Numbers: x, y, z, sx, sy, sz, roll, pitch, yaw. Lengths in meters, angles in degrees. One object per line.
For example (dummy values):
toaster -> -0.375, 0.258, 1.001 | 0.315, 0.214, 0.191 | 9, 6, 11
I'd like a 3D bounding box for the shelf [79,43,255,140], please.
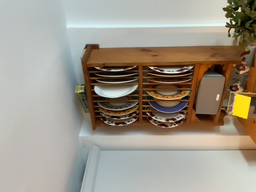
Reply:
shelf -> 0.240, -0.010, 1.390 | 0.210, 1.000, 0.600 | -88, -3, -57
